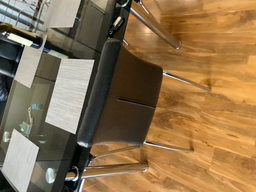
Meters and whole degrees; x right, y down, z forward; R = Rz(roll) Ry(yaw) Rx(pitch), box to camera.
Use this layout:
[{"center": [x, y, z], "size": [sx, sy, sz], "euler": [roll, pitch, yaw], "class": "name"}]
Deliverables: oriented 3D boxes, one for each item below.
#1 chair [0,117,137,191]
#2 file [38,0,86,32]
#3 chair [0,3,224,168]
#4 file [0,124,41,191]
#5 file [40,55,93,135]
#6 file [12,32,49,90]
[{"center": [-0.500, 0.550, 1.360], "size": [0.430, 0.960, 0.630], "euler": [29, 98, 40], "class": "chair"}, {"center": [-0.360, -0.480, 1.160], "size": [0.350, 0.030, 0.250], "euler": [14, 88, 40], "class": "file"}, {"center": [-0.010, 0.000, 1.110], "size": [0.630, 0.950, 0.440], "euler": [15, 89, 40], "class": "chair"}, {"center": [-0.600, 0.330, 1.140], "size": [0.340, 0.030, 0.270], "euler": [13, 88, 40], "class": "file"}, {"center": [-0.290, -0.020, 0.970], "size": [0.260, 0.020, 0.330], "euler": [12, 87, 40], "class": "file"}, {"center": [-0.600, -0.220, 1.290], "size": [0.250, 0.020, 0.320], "euler": [21, 93, 40], "class": "file"}]
